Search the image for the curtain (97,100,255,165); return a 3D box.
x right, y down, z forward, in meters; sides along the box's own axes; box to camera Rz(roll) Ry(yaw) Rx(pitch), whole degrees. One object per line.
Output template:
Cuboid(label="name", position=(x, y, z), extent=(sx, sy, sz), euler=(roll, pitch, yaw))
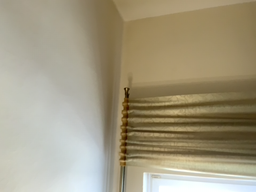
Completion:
Cuboid(label="curtain", position=(1.080, 0.300, 1.720), extent=(0.220, 2.790, 0.500), euler=(40, -130, -67))
